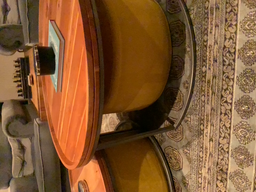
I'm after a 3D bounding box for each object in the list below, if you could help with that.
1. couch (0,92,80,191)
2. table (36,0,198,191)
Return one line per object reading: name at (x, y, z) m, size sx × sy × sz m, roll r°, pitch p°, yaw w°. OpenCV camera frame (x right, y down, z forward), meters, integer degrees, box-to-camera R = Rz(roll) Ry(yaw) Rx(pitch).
couch at (-1.170, 0.620, 2.410) m, size 1.090 × 0.910 × 1.120 m, roll 18°, pitch 110°, yaw 58°
table at (-0.140, 0.110, 1.060) m, size 0.860 × 0.390 × 1.380 m, roll 14°, pitch 107°, yaw 59°
